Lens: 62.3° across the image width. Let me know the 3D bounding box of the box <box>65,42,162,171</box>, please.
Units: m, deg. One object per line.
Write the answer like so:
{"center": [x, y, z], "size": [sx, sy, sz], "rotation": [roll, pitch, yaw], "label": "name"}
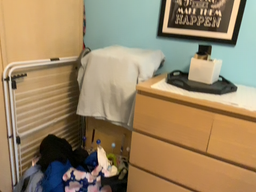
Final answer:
{"center": [-0.130, 0.030, 1.560], "size": [0.550, 0.760, 0.360], "rotation": [16, 21, 27], "label": "box"}
